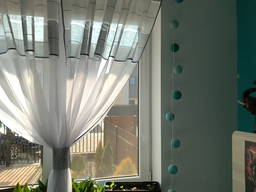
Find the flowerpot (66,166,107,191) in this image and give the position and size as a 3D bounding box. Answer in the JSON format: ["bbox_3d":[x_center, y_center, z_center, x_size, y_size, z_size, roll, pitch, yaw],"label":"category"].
[{"bbox_3d":[-0.280,0.630,1.410,0.250,0.250,0.190,1,-1,-17],"label":"flowerpot"}]
